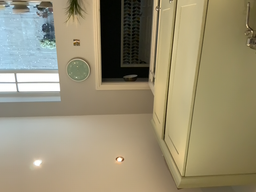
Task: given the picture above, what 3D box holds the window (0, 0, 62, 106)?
[{"bbox_3d":[-1.740,-0.610,2.970,1.430,1.510,0.250,-2,-160,-9],"label":"window"}]
